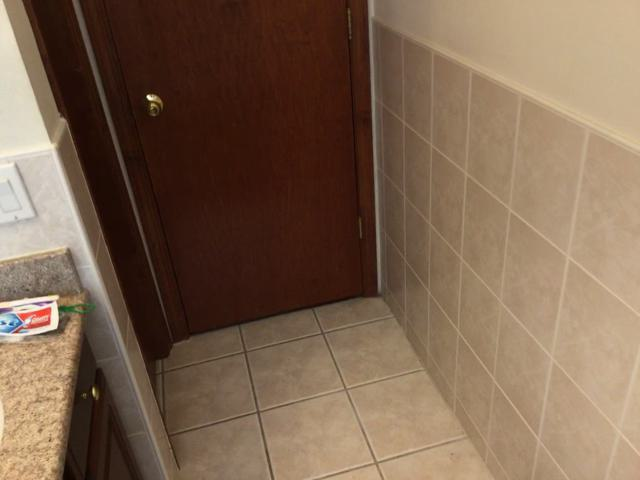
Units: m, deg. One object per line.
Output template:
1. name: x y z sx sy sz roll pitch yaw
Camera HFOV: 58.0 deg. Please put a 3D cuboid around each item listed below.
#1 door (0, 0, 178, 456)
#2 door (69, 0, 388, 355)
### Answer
1. door: -0.620 -0.310 1.430 0.070 2.020 0.430 -13 32 -11
2. door: -0.240 -0.580 1.710 0.850 2.110 0.070 -13 32 -11
